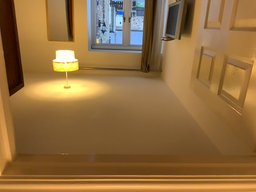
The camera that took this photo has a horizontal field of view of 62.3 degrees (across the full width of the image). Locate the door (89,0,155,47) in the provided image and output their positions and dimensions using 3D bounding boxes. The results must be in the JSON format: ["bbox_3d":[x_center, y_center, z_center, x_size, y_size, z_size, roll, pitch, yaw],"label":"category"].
[{"bbox_3d":[-0.090,-1.920,3.510,1.120,2.140,0.130,0,-161,-5],"label":"door"}]
